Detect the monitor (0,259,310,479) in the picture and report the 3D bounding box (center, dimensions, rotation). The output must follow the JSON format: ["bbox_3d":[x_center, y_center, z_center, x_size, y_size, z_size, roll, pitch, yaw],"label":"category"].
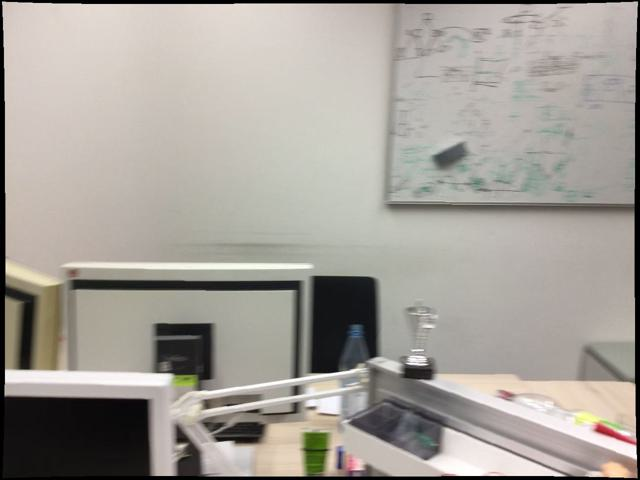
[{"bbox_3d":[-0.370,0.330,1.300,0.659,0.510,0.300,0,12,5],"label":"monitor"}]
